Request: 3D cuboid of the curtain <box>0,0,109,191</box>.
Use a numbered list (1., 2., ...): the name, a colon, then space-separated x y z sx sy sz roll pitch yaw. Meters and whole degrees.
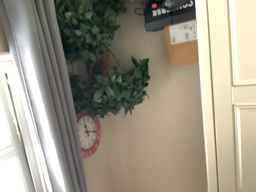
1. curtain: -0.380 0.150 1.200 0.320 1.440 0.230 -2 -167 27
